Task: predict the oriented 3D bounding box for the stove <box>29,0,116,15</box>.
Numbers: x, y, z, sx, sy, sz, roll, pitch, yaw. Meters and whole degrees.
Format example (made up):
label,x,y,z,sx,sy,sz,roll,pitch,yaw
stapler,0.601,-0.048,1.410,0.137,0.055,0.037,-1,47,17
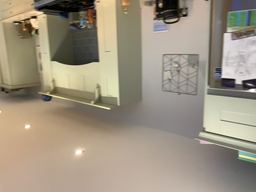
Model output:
label,x,y,z,sx,sy,sz,roll,pitch,yaw
stove,-0.770,-1.270,2.820,1.100,0.160,0.600,9,-164,41
